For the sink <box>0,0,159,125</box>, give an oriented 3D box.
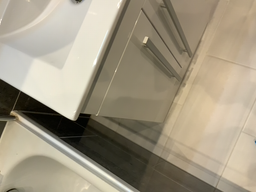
[{"bbox_3d":[-0.160,-0.300,0.570,0.460,0.150,0.610,24,92,24],"label":"sink"}]
